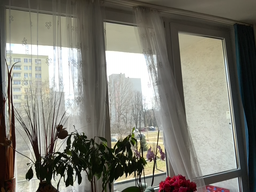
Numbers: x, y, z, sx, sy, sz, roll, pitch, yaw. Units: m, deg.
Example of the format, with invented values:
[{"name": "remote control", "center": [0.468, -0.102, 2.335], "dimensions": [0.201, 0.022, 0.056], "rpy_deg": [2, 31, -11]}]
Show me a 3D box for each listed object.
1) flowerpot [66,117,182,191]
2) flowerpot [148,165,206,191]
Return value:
[{"name": "flowerpot", "center": [-0.050, 0.500, 1.210], "dimensions": [0.530, 0.720, 0.440], "rpy_deg": [-1, -6, -22]}, {"name": "flowerpot", "center": [0.350, 0.720, 1.530], "dimensions": [0.260, 0.340, 0.320], "rpy_deg": [-1, -6, -26]}]
